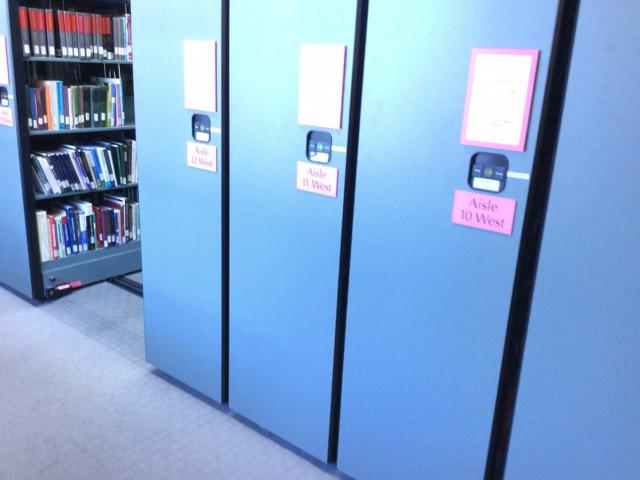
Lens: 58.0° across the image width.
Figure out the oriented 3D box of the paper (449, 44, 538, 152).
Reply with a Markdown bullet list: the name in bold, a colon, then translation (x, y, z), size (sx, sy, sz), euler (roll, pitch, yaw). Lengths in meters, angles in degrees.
- **paper**: translation (0.420, -0.350, 1.420), size (0.180, 0.240, 0.030), euler (18, 22, 37)

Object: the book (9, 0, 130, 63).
- **book**: translation (-1.280, -1.120, 2.990), size (0.160, 0.360, 0.550), euler (18, 22, 37)

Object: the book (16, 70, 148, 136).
- **book**: translation (-1.310, -0.770, 3.230), size (0.280, 0.310, 0.610), euler (18, 22, 37)

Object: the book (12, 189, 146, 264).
- **book**: translation (-1.400, -0.100, 3.410), size (0.290, 0.280, 0.660), euler (18, 22, 37)

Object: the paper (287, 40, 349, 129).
- **paper**: translation (-0.010, -0.470, 1.740), size (0.200, 0.240, 0.030), euler (18, 22, 37)

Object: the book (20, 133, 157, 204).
- **book**: translation (-1.310, -0.430, 3.330), size (0.330, 0.300, 0.640), euler (18, 22, 37)
